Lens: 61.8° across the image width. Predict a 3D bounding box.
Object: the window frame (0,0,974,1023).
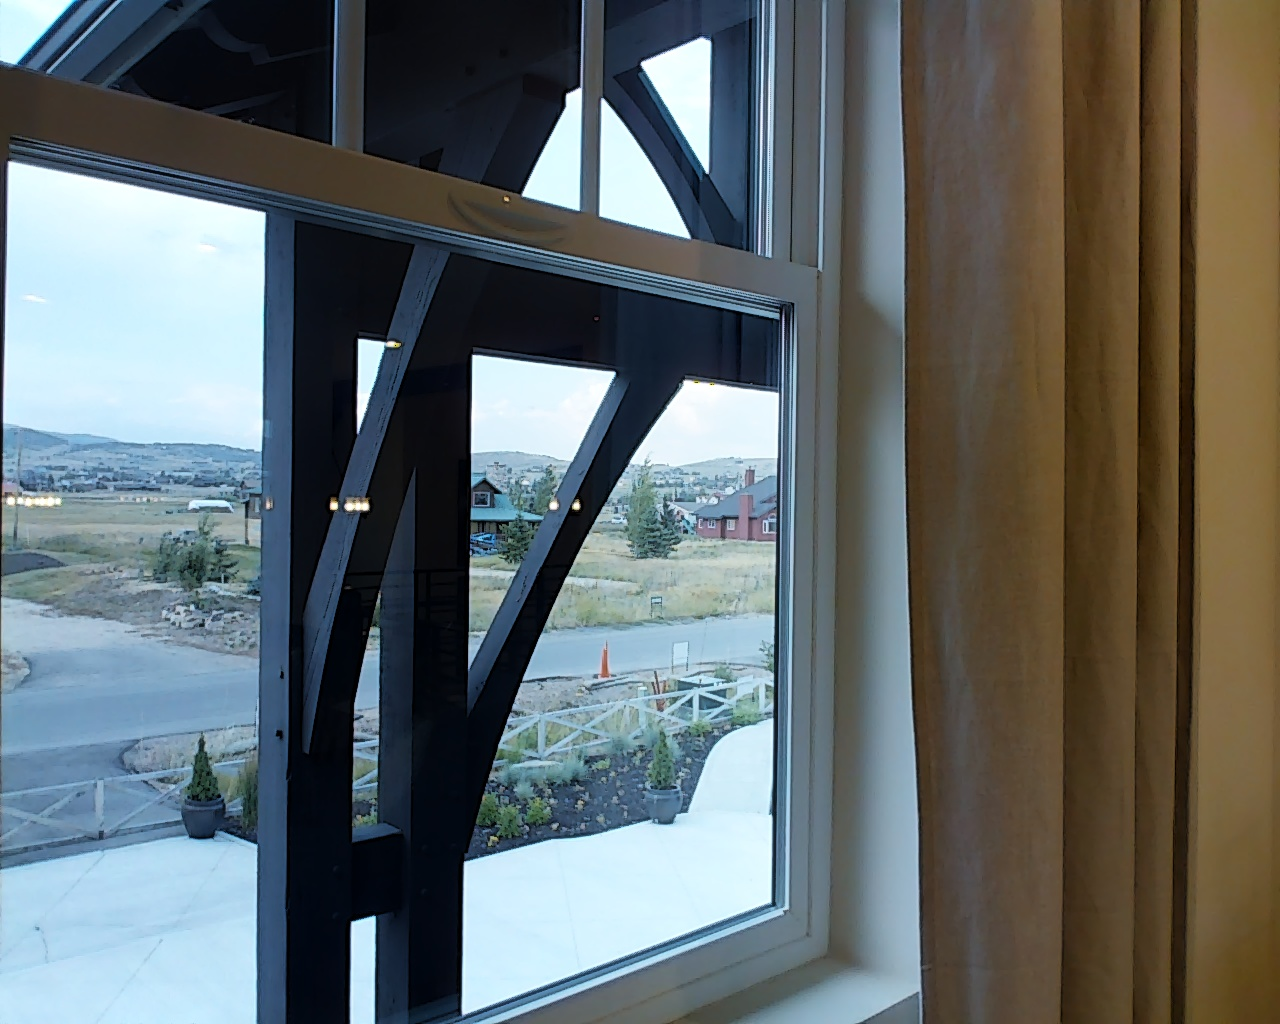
[{"bbox_3d":[-0.080,-0.240,0.880,0.900,1.490,0.260,1,0,-43],"label":"window frame"}]
